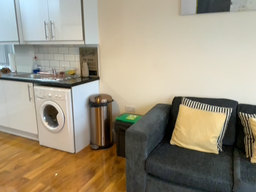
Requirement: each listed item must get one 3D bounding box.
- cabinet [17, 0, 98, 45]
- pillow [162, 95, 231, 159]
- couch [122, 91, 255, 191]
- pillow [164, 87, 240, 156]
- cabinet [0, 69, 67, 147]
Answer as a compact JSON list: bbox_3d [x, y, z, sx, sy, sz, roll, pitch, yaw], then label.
[{"bbox_3d":[-0.940,-1.220,2.770,1.030,1.070,0.330,6,15,25],"label":"cabinet"},{"bbox_3d":[0.640,0.290,2.000,0.460,0.410,0.200,-30,-2,25],"label":"pillow"},{"bbox_3d":[0.950,0.520,1.910,1.720,0.780,1.020,6,15,24],"label":"couch"},{"bbox_3d":[0.730,0.270,2.130,0.520,0.530,0.140,-30,-3,33],"label":"pillow"},{"bbox_3d":[-1.770,0.100,3.350,1.470,0.930,0.600,6,15,25],"label":"cabinet"}]
